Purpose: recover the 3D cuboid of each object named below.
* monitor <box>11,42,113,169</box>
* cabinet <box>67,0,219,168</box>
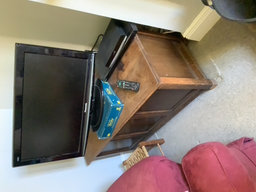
[{"bbox_3d":[-0.370,0.060,1.240,0.050,0.530,0.660,22,108,51],"label":"monitor"},{"bbox_3d":[-0.020,-0.010,1.660,1.090,0.520,0.660,-54,50,42],"label":"cabinet"}]
